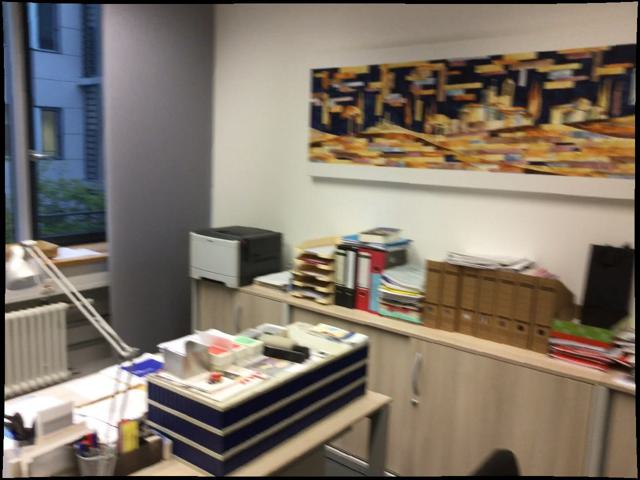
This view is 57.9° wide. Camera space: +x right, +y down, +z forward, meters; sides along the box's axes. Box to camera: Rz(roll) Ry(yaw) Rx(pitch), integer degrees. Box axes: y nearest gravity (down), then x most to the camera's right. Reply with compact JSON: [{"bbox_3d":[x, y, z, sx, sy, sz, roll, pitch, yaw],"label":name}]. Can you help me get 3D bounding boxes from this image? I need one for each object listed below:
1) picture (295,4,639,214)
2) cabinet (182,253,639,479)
[{"bbox_3d":[0.699,-0.621,2.740,2.079,0.791,0.110,11,14,38],"label":"picture"},{"bbox_3d":[0.480,0.751,2.660,3.168,0.821,0.310,11,14,38],"label":"cabinet"}]
